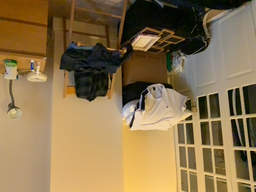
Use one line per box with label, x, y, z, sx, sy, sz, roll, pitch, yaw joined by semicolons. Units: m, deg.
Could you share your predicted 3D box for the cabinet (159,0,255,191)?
cabinet;1.120;0.280;1.910;0.620;2.250;1.950;3;169;-24
